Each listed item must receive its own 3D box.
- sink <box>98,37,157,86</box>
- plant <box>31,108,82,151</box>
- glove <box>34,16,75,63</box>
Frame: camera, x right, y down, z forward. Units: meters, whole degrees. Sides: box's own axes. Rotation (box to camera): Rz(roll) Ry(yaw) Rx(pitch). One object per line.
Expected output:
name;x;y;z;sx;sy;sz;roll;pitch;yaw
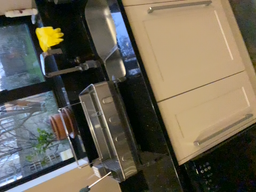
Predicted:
sink;-0.020;-0.200;1.310;0.360;0.200;0.160;-23;86;64
plant;-0.510;0.230;1.490;0.250;0.270;0.190;-20;88;64
glove;-0.540;-0.400;1.530;0.280;0.200;0.200;-23;86;64
